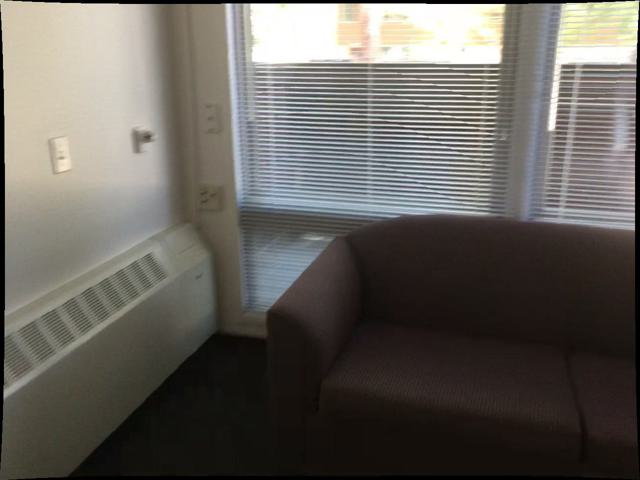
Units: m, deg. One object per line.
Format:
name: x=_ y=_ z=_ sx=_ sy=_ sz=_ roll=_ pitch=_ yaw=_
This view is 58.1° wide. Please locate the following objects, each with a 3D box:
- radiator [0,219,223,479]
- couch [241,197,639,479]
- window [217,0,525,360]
radiator: x=-0.849 y=0.521 z=1.770 sx=0.180 sy=0.661 sz=2.110 roll=6 pitch=18 yaw=15
couch: x=0.779 y=0.401 z=1.950 sx=1.837 sy=0.761 sz=0.940 roll=6 pitch=18 yaw=16
window: x=0.180 y=-0.551 z=2.370 sx=1.158 sy=1.983 sz=0.280 roll=6 pitch=18 yaw=16
